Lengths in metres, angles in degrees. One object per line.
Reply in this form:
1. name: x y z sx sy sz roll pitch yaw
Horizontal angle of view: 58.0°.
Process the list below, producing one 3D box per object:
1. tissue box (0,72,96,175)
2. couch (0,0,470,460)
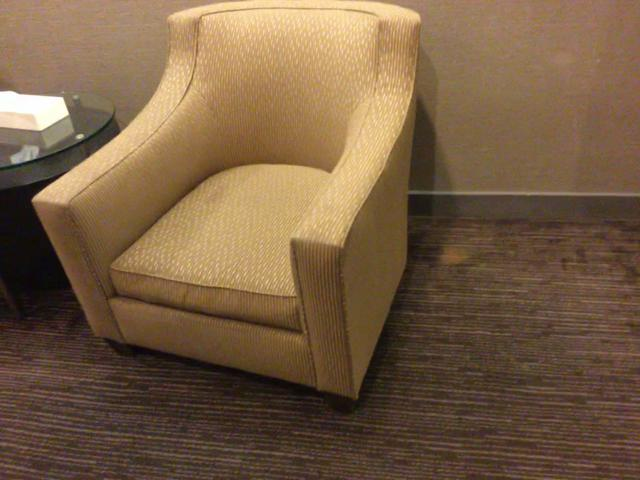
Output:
1. tissue box: -0.950 -0.380 1.860 0.320 0.240 0.240 4 32 5
2. couch: -0.160 -0.160 1.720 0.890 0.940 0.930 15 33 12
